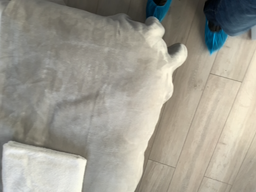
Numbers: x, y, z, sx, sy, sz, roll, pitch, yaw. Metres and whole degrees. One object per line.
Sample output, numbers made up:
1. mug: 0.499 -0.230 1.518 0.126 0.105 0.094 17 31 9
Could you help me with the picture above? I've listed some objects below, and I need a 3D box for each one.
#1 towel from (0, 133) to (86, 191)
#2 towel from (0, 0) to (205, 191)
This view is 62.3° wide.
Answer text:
1. towel: -0.400 0.380 0.920 0.380 0.070 0.360 12 104 6
2. towel: -0.350 0.570 1.190 0.760 0.410 2.220 16 104 5
